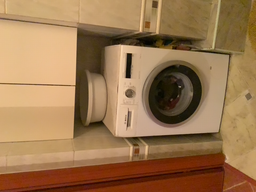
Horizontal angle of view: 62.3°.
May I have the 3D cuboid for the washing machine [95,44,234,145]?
[{"bbox_3d":[0.220,-0.060,1.710,0.670,0.830,0.610,-149,62,-67],"label":"washing machine"}]
